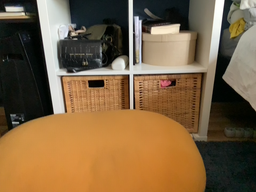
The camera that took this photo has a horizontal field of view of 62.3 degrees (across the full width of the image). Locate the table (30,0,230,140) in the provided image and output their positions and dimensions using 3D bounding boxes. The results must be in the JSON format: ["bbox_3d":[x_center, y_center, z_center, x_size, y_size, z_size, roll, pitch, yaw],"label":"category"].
[{"bbox_3d":[0.010,-0.200,1.140,0.800,0.740,0.410,-1,21,0],"label":"table"}]
